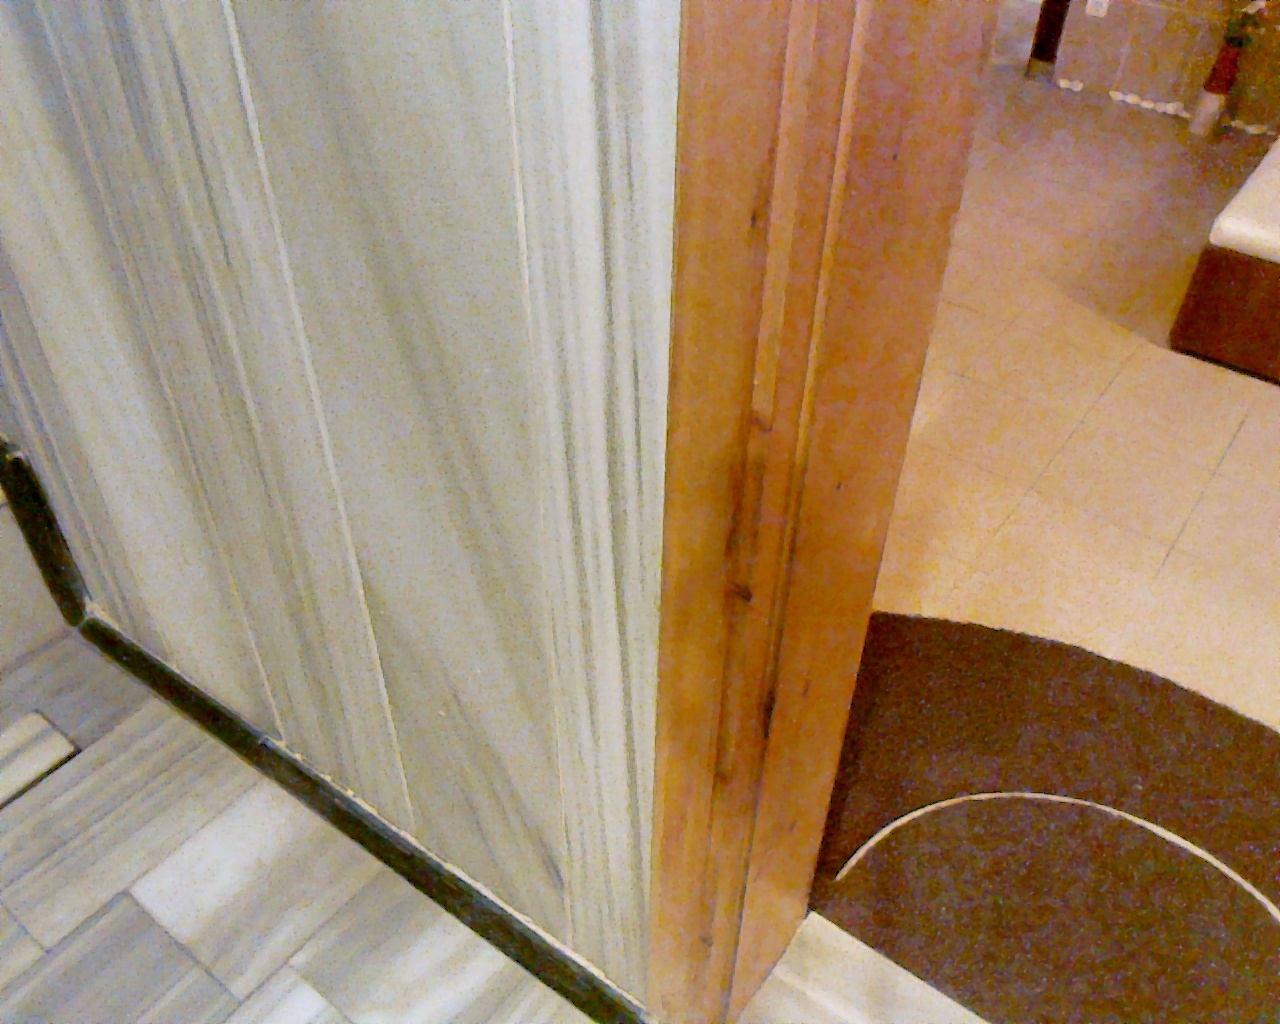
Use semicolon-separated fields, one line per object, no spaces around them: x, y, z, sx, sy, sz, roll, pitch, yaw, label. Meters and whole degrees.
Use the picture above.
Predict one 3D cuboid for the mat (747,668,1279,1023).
0.760;0.680;1.690;1.050;0.060;0.540;27;49;26;mat
